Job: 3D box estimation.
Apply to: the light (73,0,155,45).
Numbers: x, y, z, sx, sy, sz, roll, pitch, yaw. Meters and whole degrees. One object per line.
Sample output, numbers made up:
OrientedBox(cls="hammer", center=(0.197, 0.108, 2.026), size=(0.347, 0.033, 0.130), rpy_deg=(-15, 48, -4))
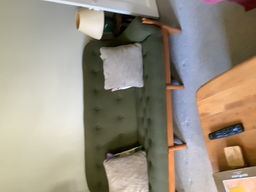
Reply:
OrientedBox(cls="light", center=(-0.160, -0.860, 2.440), size=(0.430, 0.840, 0.380), rpy_deg=(1, 92, 64))
